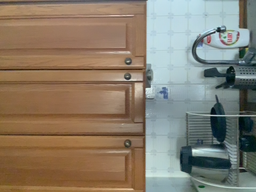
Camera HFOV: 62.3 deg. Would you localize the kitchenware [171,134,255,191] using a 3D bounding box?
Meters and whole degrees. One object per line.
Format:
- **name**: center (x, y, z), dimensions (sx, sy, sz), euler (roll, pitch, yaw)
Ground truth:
- **kitchenware**: center (0.420, 0.340, 1.100), dimensions (0.320, 0.340, 0.240), euler (54, -143, -87)
